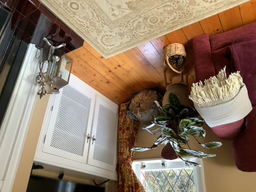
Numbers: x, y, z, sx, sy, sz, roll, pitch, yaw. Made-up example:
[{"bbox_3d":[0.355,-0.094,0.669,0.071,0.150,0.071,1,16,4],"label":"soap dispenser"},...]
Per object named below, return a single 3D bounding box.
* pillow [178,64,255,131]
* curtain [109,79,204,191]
[{"bbox_3d":[0.680,0.050,1.600,0.400,0.210,0.570,-15,147,30],"label":"pillow"},{"bbox_3d":[0.250,1.130,2.180,1.040,2.640,0.180,-16,147,31],"label":"curtain"}]
